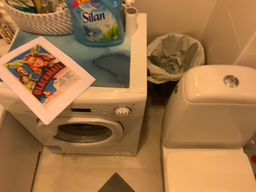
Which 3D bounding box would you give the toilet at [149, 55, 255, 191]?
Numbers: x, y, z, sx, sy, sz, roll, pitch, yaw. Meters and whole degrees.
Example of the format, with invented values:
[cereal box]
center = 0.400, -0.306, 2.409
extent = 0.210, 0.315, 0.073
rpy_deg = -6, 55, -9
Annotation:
[toilet]
center = 0.320, 0.330, 0.870
extent = 0.370, 0.740, 0.640
rpy_deg = 1, 60, -1
